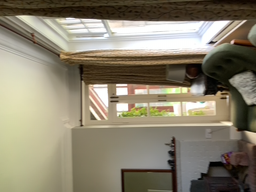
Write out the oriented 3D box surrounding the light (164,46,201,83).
[{"bbox_3d":[0.760,-0.430,3.010,0.430,0.420,0.450,-32,-60,-87],"label":"light"}]
